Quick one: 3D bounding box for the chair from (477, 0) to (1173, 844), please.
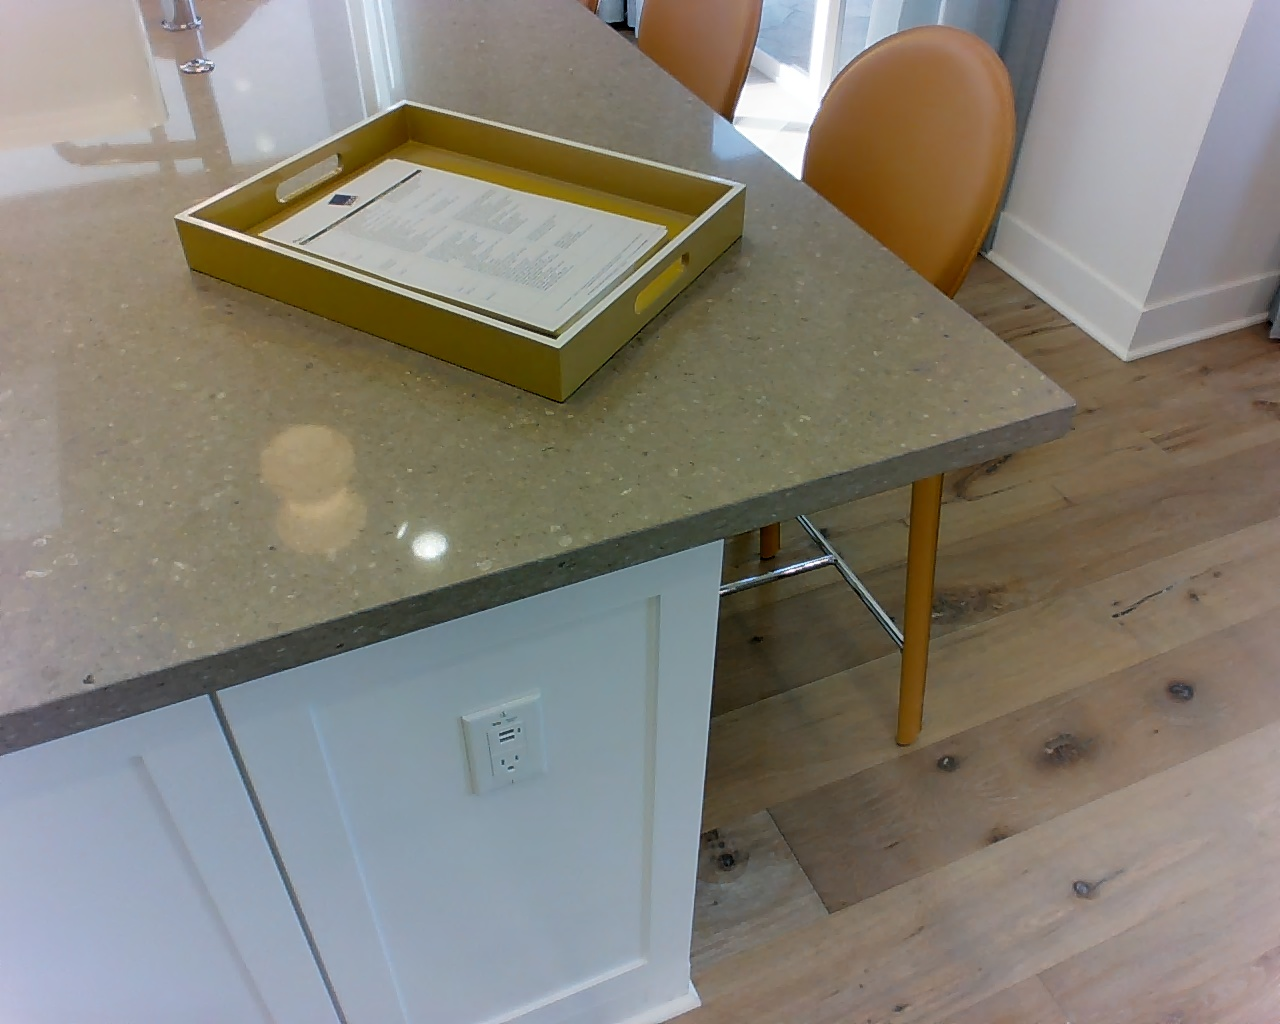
[{"bbox_3d":[0.180,-0.110,1.510,0.590,1.060,0.460,-17,45,-17],"label":"chair"}]

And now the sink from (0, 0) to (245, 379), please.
[{"bbox_3d":[-1.000,-0.570,1.690,0.540,0.280,0.870,-17,45,-17],"label":"sink"}]
